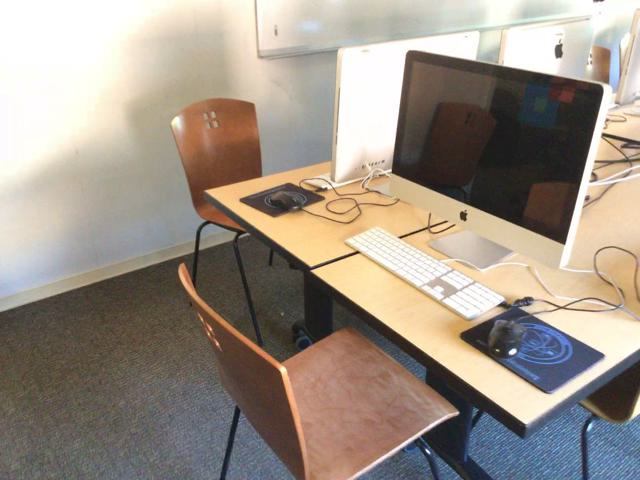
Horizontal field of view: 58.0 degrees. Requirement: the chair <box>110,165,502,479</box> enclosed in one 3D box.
[{"bbox_3d":[-0.030,0.350,1.320,0.600,0.830,0.480,-19,33,-31],"label":"chair"}]
